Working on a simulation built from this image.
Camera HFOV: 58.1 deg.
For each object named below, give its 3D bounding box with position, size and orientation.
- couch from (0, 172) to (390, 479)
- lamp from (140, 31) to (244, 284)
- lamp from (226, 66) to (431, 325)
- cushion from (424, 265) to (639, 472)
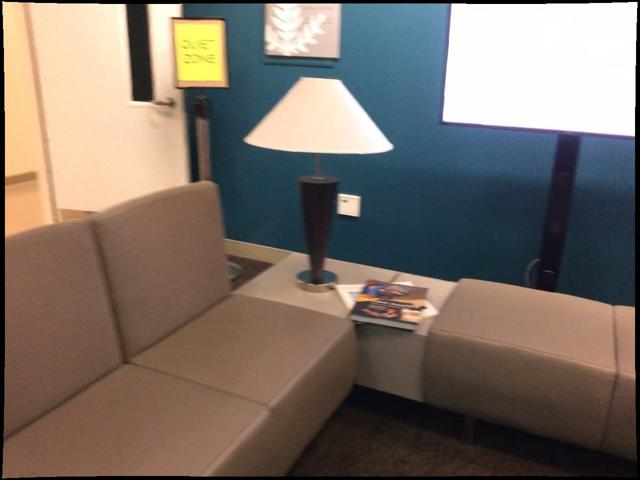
[{"bbox_3d":[-0.349,0.351,1.590,0.718,0.762,1.210,10,21,21],"label":"couch"},{"bbox_3d":[-0.678,-0.461,3.200,0.319,1.303,0.430,10,21,21],"label":"lamp"},{"bbox_3d":[0.040,-0.211,2.190,0.579,0.812,0.520,10,21,21],"label":"lamp"},{"bbox_3d":[1.047,0.451,1.990,1.227,0.331,0.610,10,21,21],"label":"cushion"}]
